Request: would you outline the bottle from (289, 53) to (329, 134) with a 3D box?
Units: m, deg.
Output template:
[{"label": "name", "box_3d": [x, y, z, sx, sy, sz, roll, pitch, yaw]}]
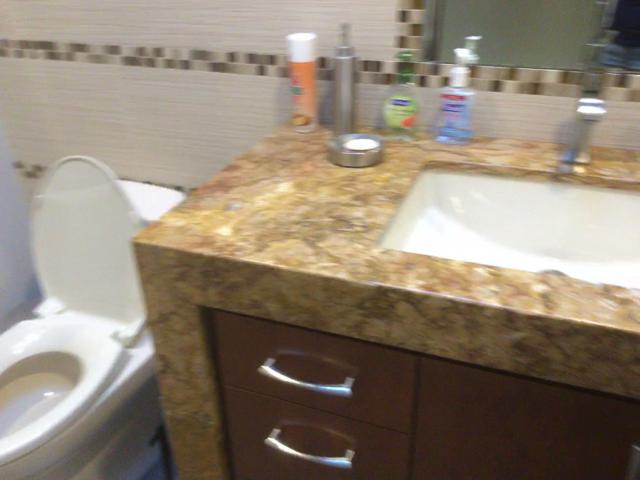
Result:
[{"label": "bottle", "box_3d": [-0.020, -0.300, 1.180, 0.050, 0.140, 0.090, 8, 31, 16]}]
